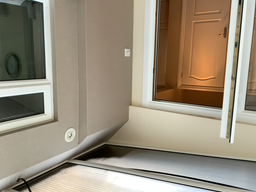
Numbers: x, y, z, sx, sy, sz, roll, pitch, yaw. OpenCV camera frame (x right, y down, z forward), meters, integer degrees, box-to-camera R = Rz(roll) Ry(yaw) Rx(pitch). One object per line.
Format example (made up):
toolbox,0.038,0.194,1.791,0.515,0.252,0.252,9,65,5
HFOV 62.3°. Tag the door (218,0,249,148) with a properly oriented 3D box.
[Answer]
door,0.770,-0.770,1.400,0.070,2.020,0.860,6,-169,28
